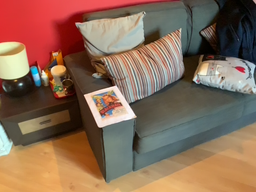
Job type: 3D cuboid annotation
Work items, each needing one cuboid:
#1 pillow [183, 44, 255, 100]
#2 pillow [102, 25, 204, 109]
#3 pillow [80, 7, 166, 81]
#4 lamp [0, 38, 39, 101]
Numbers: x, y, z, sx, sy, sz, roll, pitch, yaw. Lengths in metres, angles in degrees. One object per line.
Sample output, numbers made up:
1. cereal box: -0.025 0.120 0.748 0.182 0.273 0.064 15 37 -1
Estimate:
1. pillow: 0.700 -0.200 1.540 0.480 0.120 0.420 16 40 20
2. pillow: 0.150 -0.200 1.410 0.600 0.330 0.220 -24 62 -24
3. pillow: -0.060 -0.360 1.500 0.500 0.400 0.230 -13 61 -18
4. lamp: -0.810 -0.190 1.510 0.230 0.350 0.200 -15 40 -18
